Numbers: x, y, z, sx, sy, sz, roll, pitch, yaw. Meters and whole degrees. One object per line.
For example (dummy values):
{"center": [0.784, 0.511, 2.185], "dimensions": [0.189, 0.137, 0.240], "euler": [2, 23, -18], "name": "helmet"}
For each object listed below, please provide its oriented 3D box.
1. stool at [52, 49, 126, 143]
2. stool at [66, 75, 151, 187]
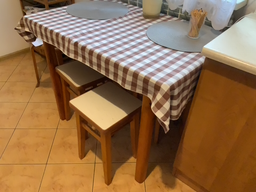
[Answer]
{"center": [-0.260, -0.010, 1.510], "dimensions": [0.360, 0.490, 0.310], "euler": [-24, 46, -30], "name": "stool"}
{"center": [-0.110, 0.200, 1.250], "dimensions": [0.290, 0.490, 0.330], "euler": [33, 47, 32], "name": "stool"}
